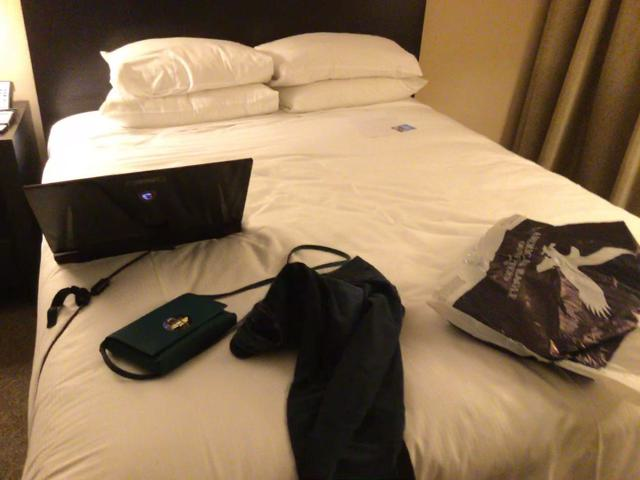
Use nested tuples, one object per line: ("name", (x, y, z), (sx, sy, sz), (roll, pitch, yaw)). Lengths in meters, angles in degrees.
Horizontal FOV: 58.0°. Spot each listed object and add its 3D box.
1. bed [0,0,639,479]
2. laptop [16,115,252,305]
("bed", (0.020, -0.210, 1.640), (1.770, 1.550, 2.130), (-6, 26, -18))
("laptop", (-0.410, -0.100, 1.320), (0.420, 0.260, 0.430), (-6, 26, -18))
